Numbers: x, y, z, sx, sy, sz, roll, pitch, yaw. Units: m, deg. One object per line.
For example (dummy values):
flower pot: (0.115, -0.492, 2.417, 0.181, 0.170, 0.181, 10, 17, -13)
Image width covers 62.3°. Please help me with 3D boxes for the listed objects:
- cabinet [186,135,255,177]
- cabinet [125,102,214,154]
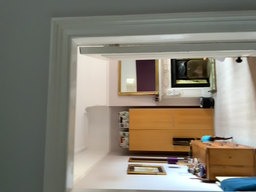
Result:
cabinet: (1.430, 0.890, 3.320, 0.990, 0.790, 0.480, 60, -151, -83)
cabinet: (0.950, 0.790, 5.260, 0.750, 1.990, 1.160, 67, -158, -81)
